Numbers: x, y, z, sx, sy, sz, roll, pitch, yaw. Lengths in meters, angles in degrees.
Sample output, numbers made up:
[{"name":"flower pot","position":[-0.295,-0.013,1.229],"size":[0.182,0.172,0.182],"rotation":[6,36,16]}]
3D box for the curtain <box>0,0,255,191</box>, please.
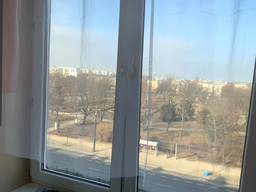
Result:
[{"name":"curtain","position":[-0.070,-0.420,0.920],"size":[1.480,1.720,0.140],"rotation":[6,6,21]}]
